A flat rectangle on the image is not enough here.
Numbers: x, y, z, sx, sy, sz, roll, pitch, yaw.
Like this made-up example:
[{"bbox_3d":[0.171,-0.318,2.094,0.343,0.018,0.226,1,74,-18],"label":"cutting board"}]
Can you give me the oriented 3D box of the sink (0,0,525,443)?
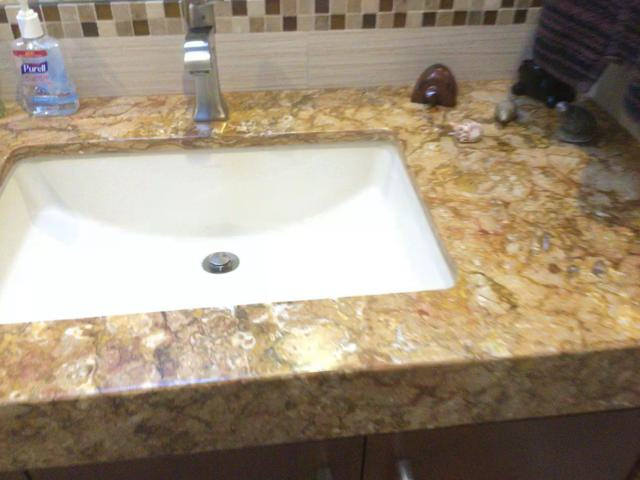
[{"bbox_3d":[-0.140,-0.080,0.740,0.550,0.310,0.490,-6,38,-8],"label":"sink"}]
